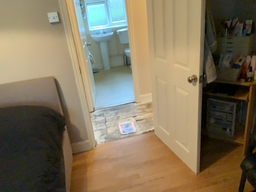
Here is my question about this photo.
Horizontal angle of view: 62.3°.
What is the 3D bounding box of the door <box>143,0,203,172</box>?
[{"bbox_3d":[0.360,-0.320,1.860,0.040,1.880,0.800,-14,25,-17],"label":"door"}]
